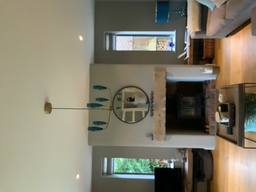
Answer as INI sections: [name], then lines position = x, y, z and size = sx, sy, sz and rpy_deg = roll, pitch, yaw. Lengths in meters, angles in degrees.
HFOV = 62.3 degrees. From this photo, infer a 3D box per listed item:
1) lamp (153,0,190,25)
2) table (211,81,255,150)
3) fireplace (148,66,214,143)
[lamp]
position = 0.980, -1.940, 4.850
size = 0.450, 0.740, 0.460
rpy_deg = 30, -118, -89
[table]
position = 1.560, 0.250, 3.060
size = 0.800, 0.410, 0.860
rpy_deg = 0, -88, -89
[fireplace]
position = 1.160, 0.190, 4.920
size = 0.930, 1.280, 1.580
rpy_deg = 30, -118, -89
